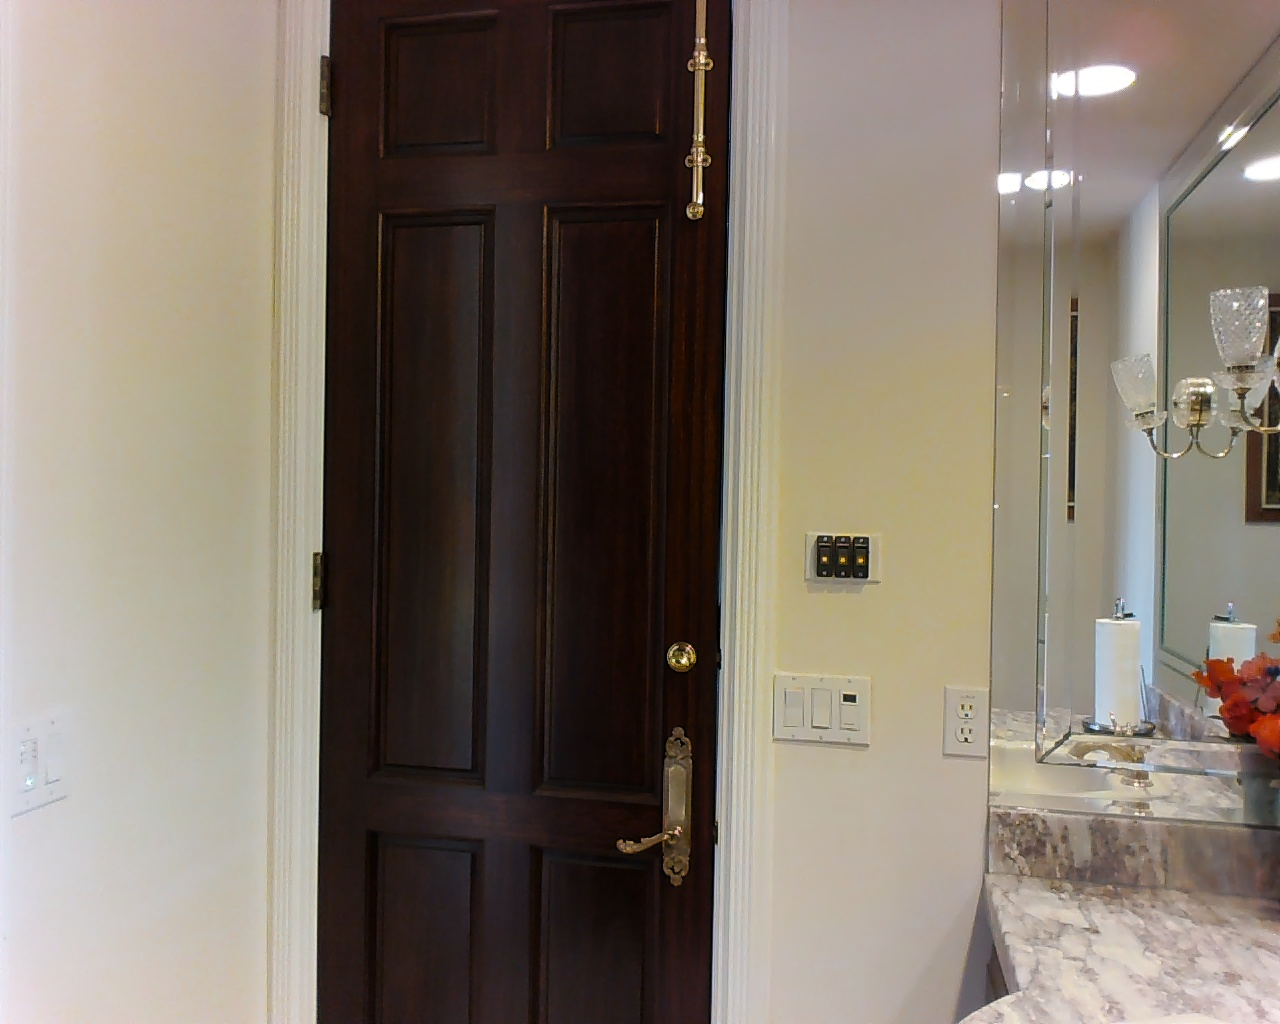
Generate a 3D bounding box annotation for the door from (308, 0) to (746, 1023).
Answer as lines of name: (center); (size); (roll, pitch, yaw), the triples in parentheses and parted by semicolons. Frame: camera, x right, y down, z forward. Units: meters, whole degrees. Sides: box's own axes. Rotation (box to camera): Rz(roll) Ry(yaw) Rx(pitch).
door: (-0.220, 0.190, 1.940); (0.780, 2.370, 0.060); (1, 1, 12)
